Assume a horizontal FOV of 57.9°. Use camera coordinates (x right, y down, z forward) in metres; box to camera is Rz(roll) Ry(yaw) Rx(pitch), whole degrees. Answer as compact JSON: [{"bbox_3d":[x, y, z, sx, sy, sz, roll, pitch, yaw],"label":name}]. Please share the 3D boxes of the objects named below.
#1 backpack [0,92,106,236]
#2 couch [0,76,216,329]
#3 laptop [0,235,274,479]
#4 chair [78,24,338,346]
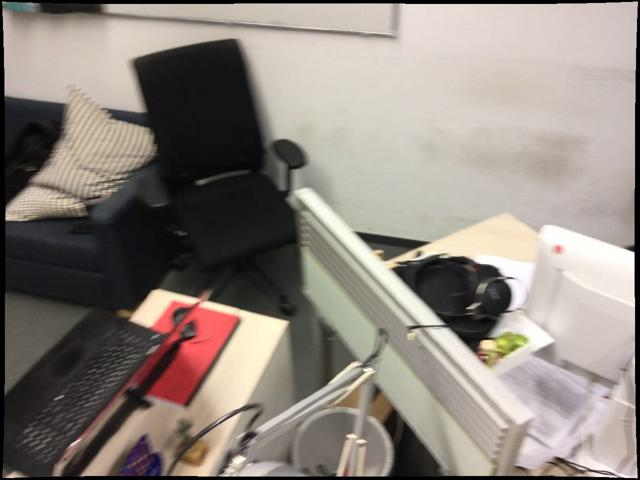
[{"bbox_3d":[-1.409,-0.370,2.700,0.500,0.400,0.510,8,43,11],"label":"backpack"},{"bbox_3d":[-1.459,-0.250,2.840,1.589,0.750,0.820,8,43,11],"label":"couch"},{"bbox_3d":[-0.440,0.300,1.300,0.510,0.310,0.420,16,45,20],"label":"laptop"},{"bbox_3d":[-0.430,-0.250,2.470,0.730,0.951,0.730,-23,46,-22],"label":"chair"}]
